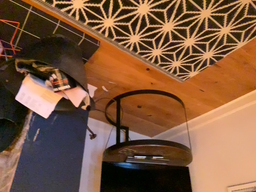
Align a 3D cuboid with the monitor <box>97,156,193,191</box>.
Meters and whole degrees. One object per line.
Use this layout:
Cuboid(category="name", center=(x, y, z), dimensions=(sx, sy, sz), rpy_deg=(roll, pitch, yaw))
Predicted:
Cuboid(category="monitor", center=(0.140, 0.710, 1.660), dimensions=(0.750, 0.410, 0.070), rpy_deg=(7, 147, -11))
